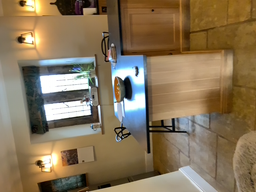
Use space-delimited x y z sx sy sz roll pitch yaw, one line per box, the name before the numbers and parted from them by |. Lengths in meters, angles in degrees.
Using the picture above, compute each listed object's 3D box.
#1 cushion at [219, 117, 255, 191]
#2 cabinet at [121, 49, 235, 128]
cushion | 1.150 0.770 1.810 0.920 0.070 0.960 -146 52 -70
cabinet | 0.480 -0.150 2.320 0.790 0.900 0.660 -148 54 -70
